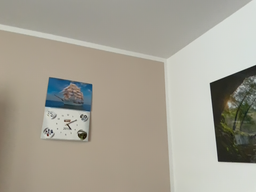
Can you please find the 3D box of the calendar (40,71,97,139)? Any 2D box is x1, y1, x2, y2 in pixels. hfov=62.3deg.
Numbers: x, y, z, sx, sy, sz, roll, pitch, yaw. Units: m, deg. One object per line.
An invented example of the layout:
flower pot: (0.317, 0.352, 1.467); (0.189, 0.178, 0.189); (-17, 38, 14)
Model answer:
calendar: (-0.480, 0.080, 1.780); (0.420, 0.540, 0.040); (7, -17, -24)
